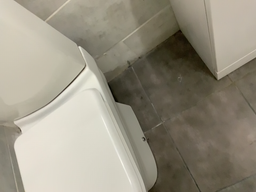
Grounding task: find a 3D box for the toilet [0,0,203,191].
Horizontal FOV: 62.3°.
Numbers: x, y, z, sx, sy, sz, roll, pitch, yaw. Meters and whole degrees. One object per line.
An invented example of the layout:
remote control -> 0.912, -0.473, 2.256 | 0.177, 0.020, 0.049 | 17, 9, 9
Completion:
toilet -> -0.160, 0.150, 0.660 | 0.390, 0.810, 0.670 | -34, 66, 15
